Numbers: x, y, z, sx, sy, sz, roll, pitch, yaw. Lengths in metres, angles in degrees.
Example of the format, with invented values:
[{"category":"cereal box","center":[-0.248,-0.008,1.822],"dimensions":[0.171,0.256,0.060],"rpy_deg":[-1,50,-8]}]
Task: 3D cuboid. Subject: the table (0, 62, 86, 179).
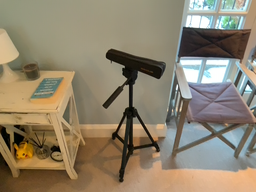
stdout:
[{"category":"table","center":[-0.620,0.180,1.470],"dimensions":[0.520,0.690,0.430],"rpy_deg":[-1,38,-2]}]
